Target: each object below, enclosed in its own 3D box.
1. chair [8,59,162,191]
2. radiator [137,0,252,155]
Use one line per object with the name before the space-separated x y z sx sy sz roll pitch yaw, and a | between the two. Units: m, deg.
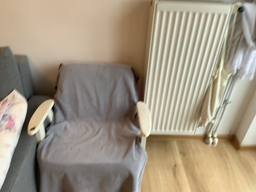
chair | -0.210 0.230 1.330 0.640 0.700 0.600 2 34 -5
radiator | 0.350 -0.050 1.420 0.470 1.070 0.180 3 34 -2
